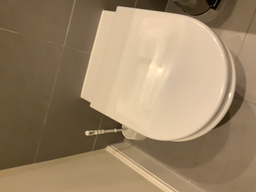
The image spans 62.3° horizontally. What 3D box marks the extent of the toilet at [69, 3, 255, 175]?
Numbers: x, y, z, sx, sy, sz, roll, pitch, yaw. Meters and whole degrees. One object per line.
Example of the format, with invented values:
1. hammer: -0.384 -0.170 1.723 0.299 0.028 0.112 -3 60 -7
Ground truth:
1. toilet: 0.160 -0.060 0.830 0.540 0.450 0.380 24 101 36
